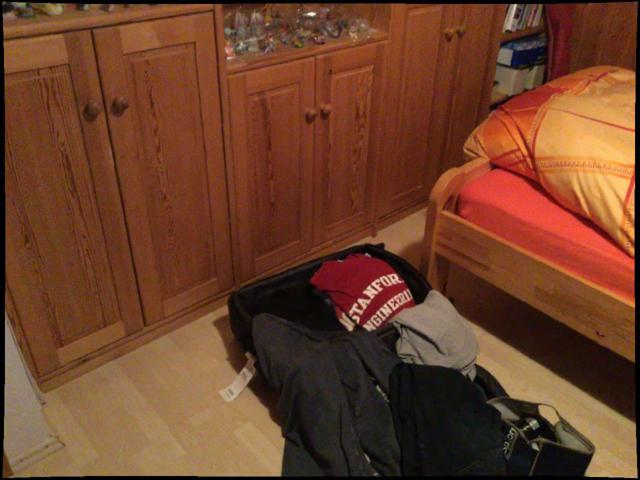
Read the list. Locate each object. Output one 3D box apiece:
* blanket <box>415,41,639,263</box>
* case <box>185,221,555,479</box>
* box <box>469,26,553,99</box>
[{"bbox_3d":[1.259,-0.220,1.730,1.030,0.260,1.640,-25,40,-33],"label":"blanket"},{"bbox_3d":[0.130,0.330,1.840,0.750,0.230,0.860,-25,40,-33],"label":"case"},{"bbox_3d":[0.939,-0.881,2.850,0.360,0.250,0.190,-25,40,-33],"label":"box"}]
